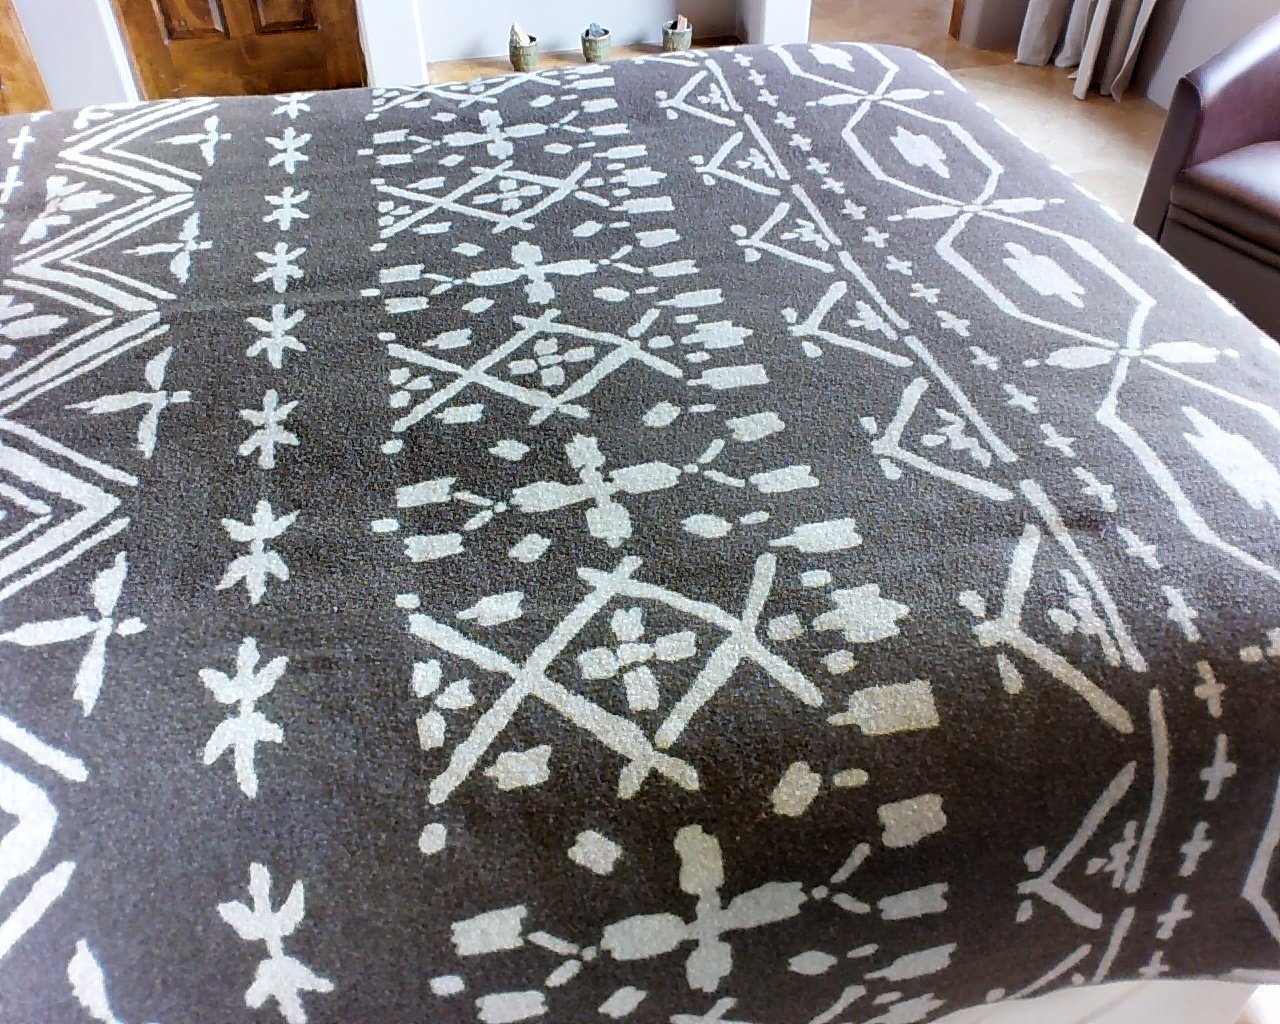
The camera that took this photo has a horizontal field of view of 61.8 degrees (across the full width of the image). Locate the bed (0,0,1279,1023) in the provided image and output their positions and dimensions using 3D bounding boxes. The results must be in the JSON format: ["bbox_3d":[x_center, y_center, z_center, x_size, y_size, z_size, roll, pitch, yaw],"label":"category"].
[{"bbox_3d":[-0.200,0.020,1.540,2.370,0.830,1.880,-10,42,-10],"label":"bed"}]
